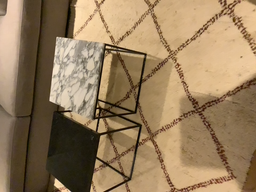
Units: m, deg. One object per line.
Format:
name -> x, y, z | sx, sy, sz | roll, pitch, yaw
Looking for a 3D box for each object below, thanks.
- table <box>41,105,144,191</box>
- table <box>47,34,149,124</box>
table -> -0.230, 0.330, 1.380 | 0.430, 0.430, 0.430 | 17, 101, 36
table -> -0.190, -0.120, 1.350 | 0.420, 0.410, 0.430 | 17, 102, 36
